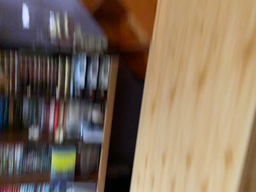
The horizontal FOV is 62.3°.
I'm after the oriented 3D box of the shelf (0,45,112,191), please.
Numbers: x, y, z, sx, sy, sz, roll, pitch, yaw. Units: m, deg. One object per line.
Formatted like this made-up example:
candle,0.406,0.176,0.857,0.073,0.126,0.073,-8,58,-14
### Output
shelf,-0.790,0.340,1.570,1.130,1.360,0.420,5,10,-17
